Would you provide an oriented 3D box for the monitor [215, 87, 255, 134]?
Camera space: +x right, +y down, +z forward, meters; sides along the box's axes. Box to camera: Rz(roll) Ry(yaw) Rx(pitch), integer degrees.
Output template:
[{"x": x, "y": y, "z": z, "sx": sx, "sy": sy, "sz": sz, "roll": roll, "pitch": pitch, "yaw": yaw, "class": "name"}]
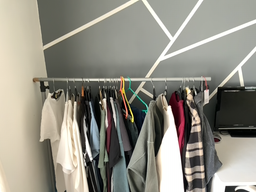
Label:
[{"x": 0.930, "y": 0.110, "z": 1.570, "sx": 0.520, "sy": 0.350, "sz": 0.030, "roll": -1, "pitch": 17, "yaw": 0, "class": "monitor"}]
